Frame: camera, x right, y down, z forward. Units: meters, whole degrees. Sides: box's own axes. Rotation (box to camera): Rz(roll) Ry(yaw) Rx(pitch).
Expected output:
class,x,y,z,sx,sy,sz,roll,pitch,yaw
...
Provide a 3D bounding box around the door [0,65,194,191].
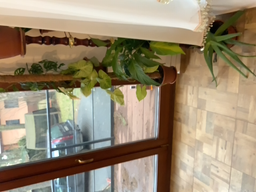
class,x,y,z,sx,sy,sz,roll,pitch,yaw
door,-0.450,1.410,2.100,0.220,2.360,3.370,23,115,59
